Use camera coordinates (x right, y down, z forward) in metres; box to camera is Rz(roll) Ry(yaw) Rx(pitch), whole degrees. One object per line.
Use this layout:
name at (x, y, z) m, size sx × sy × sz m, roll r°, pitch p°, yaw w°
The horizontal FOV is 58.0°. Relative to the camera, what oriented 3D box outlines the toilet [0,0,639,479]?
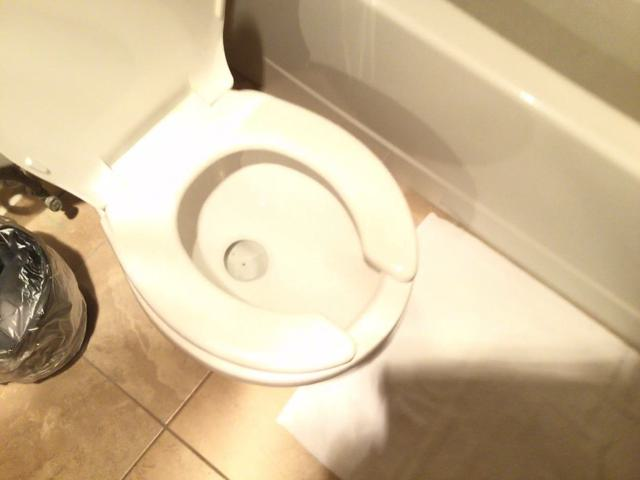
toilet at (-0.140, -0.110, 0.750) m, size 0.700 × 0.710 × 0.500 m, roll 37°, pitch 72°, yaw 9°
